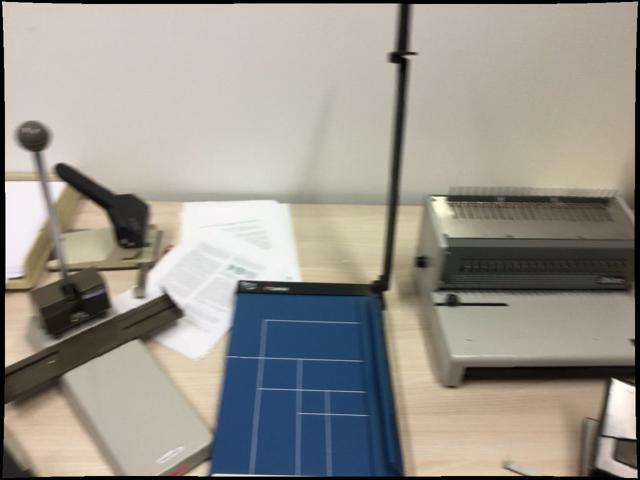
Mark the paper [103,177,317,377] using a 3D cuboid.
[{"bbox_3d":[-0.210,0.040,1.170,0.350,0.060,0.510,-2,39,-7],"label":"paper"}]
